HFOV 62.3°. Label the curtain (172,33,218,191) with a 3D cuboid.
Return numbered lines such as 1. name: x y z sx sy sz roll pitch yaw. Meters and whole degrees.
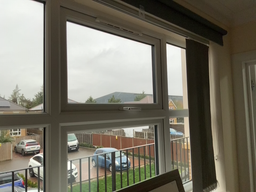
1. curtain: 0.550 0.140 1.760 0.240 1.240 0.200 2 -6 -42
